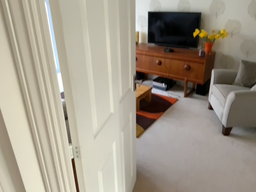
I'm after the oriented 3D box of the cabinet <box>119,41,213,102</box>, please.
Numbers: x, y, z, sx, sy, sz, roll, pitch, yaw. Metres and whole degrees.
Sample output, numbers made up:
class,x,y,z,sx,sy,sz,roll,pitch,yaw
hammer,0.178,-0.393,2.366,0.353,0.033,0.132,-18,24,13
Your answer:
class,x,y,z,sx,sy,sz,roll,pitch,yaw
cabinet,0.590,-0.490,3.710,1.510,0.690,0.470,17,31,32

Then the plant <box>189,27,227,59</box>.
class,x,y,z,sx,sy,sz,roll,pitch,yaw
plant,1.160,-0.790,3.100,0.400,0.360,0.300,19,32,34

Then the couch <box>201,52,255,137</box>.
class,x,y,z,sx,sy,sz,roll,pitch,yaw
couch,1.580,-0.060,2.680,0.940,0.820,0.760,-1,26,-1
